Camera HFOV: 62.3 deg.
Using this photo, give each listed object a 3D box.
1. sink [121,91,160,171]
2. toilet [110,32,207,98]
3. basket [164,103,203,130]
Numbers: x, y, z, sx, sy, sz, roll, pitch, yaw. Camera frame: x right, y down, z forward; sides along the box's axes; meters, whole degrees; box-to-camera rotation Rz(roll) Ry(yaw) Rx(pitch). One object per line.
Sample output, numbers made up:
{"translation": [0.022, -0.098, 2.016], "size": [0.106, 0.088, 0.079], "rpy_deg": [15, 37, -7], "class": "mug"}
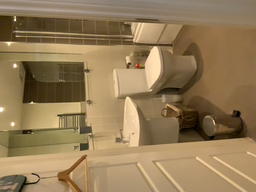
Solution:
{"translation": [0.080, 0.270, 1.840], "size": [0.560, 0.150, 0.450], "rpy_deg": [-121, 32, -64], "class": "sink"}
{"translation": [0.270, -0.300, 2.320], "size": [0.660, 0.830, 0.410], "rpy_deg": [119, 147, -64], "class": "toilet"}
{"translation": [0.590, 0.210, 2.310], "size": [0.390, 0.240, 0.190], "rpy_deg": [-143, 53, -73], "class": "basket"}
